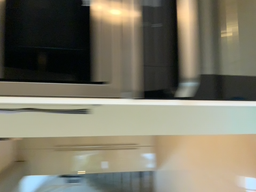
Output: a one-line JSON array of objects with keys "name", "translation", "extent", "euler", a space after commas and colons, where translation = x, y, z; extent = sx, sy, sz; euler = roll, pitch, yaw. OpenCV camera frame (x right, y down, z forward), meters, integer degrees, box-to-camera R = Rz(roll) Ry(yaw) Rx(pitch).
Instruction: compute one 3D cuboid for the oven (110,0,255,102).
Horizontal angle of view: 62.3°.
[{"name": "oven", "translation": [0.260, -0.280, 0.920], "extent": [0.630, 0.610, 0.600], "euler": [164, 106, -79]}]
